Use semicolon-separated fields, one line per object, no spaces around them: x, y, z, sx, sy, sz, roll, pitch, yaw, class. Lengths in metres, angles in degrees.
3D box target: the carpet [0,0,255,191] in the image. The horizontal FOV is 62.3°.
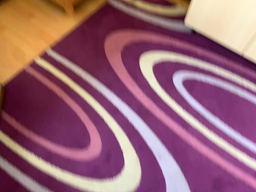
-0.020;0.050;1.180;1.470;0.060;1.810;35;64;16;carpet
